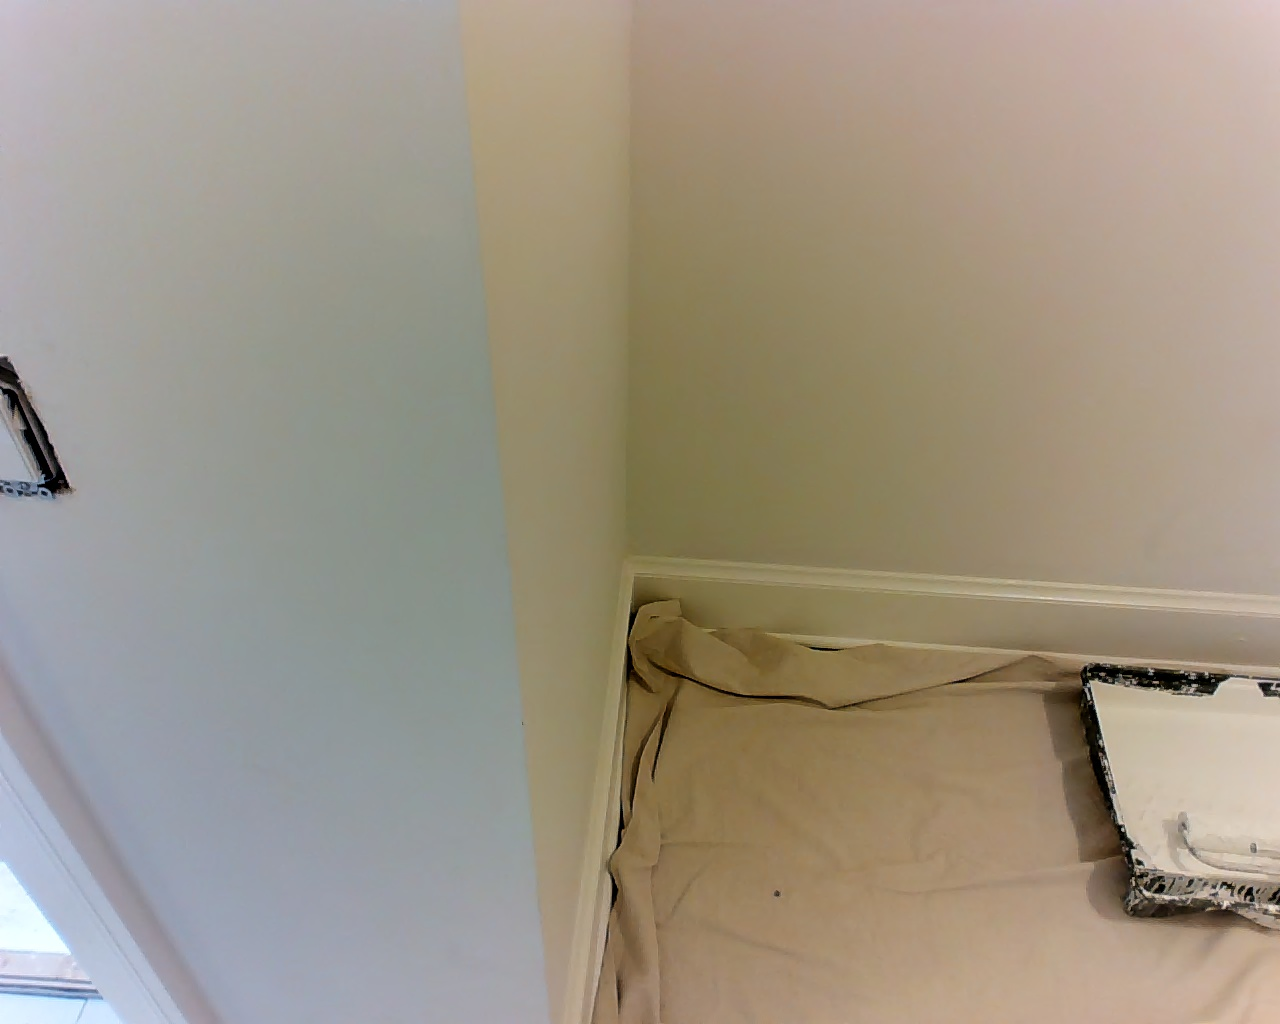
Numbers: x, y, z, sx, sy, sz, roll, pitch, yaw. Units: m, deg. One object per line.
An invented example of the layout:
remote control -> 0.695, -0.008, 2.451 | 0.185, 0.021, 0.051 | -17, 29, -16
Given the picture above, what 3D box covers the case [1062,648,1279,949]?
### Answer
case -> 1.040, 0.460, 1.750 | 0.560, 0.150, 0.450 | 4, 42, 2
